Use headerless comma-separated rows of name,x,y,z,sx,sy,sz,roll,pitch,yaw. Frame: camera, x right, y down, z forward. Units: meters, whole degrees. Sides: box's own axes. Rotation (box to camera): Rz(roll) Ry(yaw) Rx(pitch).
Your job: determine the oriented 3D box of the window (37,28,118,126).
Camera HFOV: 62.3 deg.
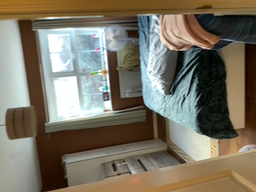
window,-0.920,-0.380,4.000,0.200,1.270,1.700,180,83,-76
